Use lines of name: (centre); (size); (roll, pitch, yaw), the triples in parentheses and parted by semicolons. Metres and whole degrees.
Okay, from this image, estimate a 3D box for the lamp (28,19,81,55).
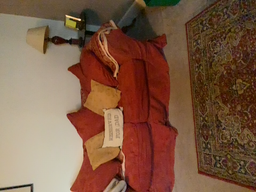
lamp: (-0.940, -0.730, 2.720); (0.340, 0.600, 0.290); (166, 103, -66)
